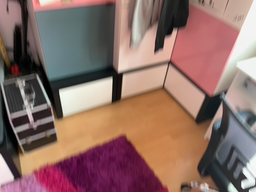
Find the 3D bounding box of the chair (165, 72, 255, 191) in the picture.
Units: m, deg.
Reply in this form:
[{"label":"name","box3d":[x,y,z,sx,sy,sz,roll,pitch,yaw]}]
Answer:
[{"label":"chair","box3d":[0.710,0.390,1.080,0.660,0.840,0.620,-11,45,-19]}]

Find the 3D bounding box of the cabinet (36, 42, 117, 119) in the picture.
[{"label":"cabinet","box3d":[-0.470,-0.170,1.920,0.530,0.320,0.560,-16,47,-23]}]
